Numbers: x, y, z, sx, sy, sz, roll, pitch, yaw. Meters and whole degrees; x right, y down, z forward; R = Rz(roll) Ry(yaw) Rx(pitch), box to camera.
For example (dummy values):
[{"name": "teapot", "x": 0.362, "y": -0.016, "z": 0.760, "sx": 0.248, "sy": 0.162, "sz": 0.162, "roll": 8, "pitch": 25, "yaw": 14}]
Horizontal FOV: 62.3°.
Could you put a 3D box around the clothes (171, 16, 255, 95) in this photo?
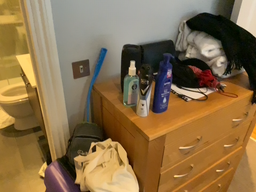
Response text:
[{"name": "clothes", "x": 0.540, "y": -0.260, "z": 1.180, "sx": 0.320, "sy": 0.250, "sz": 0.470, "roll": -20, "pitch": 37, "yaw": -31}]
